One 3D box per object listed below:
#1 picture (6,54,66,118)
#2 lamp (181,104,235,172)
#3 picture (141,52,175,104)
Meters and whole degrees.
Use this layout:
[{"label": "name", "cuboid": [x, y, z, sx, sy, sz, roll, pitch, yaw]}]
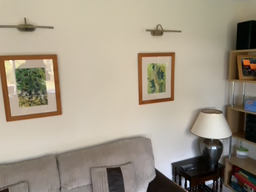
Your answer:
[{"label": "picture", "cuboid": [-0.810, -0.100, 1.900, 0.450, 0.550, 0.020, -5, 10, -22]}, {"label": "lamp", "cuboid": [0.940, 0.470, 2.540, 0.410, 0.640, 0.410, -5, 10, -26]}, {"label": "picture", "cuboid": [0.340, -0.210, 2.410, 0.430, 0.570, 0.010, -5, 10, -22]}]
